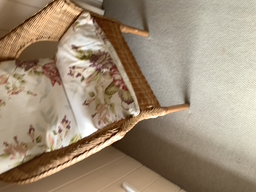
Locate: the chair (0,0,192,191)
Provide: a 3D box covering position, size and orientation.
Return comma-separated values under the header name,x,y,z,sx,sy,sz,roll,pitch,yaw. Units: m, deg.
name,x,y,z,sx,sy,sz,roll,pitch,yaw
chair,-0.210,-0.020,1.030,0.560,0.780,0.590,-37,73,32
